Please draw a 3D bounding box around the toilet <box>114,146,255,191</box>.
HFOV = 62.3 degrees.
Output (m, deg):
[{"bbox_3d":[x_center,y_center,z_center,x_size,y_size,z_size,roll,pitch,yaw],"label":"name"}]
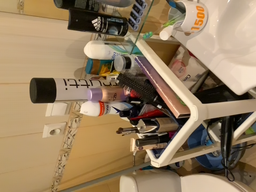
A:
[{"bbox_3d":[0.420,0.620,1.190,0.670,0.750,0.410,2,94,56],"label":"toilet"}]
